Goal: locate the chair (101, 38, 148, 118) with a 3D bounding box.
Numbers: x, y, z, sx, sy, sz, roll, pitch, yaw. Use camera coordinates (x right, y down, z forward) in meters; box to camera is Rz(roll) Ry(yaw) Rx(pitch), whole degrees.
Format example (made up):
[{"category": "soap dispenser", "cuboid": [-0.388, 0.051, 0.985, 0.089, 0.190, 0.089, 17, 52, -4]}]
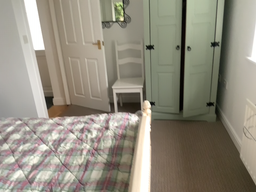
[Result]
[{"category": "chair", "cuboid": [-0.010, -0.270, 2.940, 0.490, 0.970, 0.570, 1, 21, 11]}]
